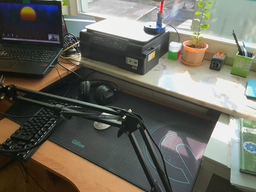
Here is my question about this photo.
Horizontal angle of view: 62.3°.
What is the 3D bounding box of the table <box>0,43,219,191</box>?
[{"bbox_3d":[-0.270,0.320,1.230,1.200,0.840,0.690,19,38,23],"label":"table"}]
